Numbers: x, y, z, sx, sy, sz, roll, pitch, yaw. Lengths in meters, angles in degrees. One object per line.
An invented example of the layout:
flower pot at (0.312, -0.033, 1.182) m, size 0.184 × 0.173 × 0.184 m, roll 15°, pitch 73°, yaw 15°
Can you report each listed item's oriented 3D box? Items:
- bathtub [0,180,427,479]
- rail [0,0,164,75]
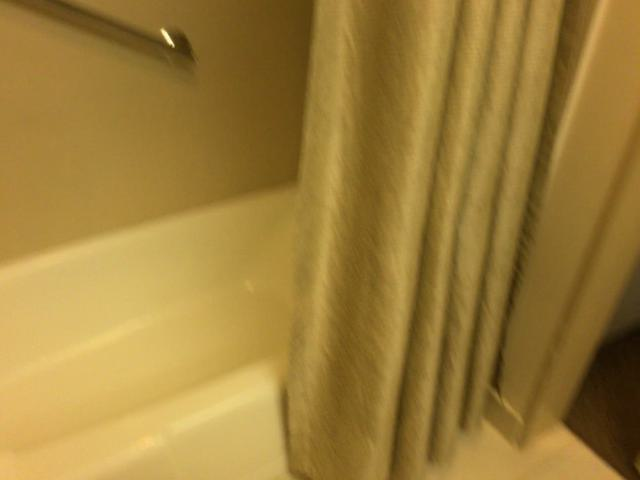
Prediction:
bathtub at (-0.490, 0.330, 1.420) m, size 1.280 × 0.370 × 0.720 m, roll -19°, pitch 40°, yaw -24°
rail at (-0.600, -0.520, 1.190) m, size 0.500 × 0.310 × 0.070 m, roll -19°, pitch 40°, yaw -24°
